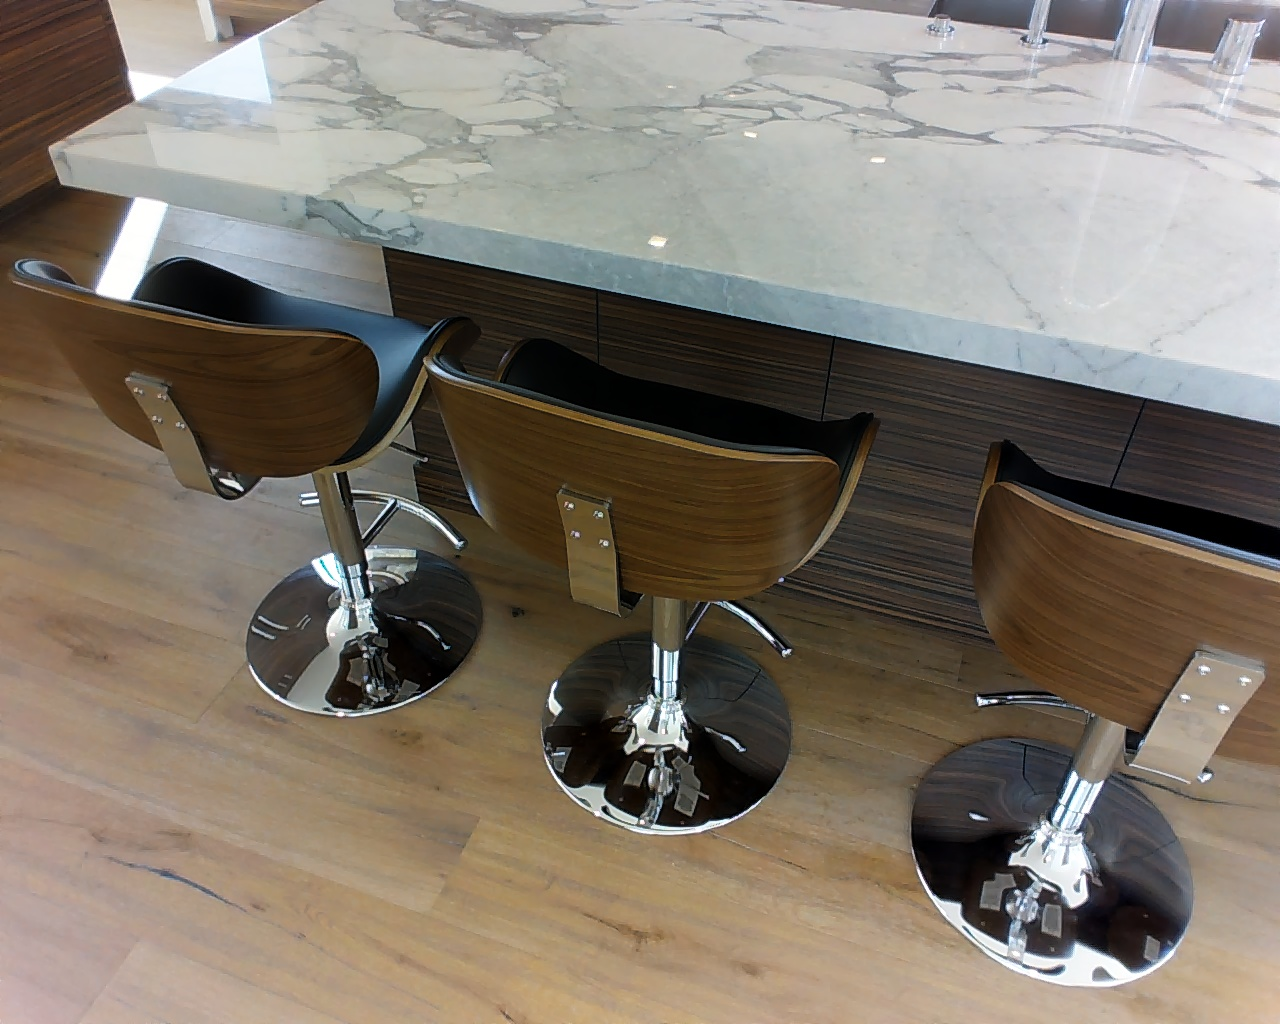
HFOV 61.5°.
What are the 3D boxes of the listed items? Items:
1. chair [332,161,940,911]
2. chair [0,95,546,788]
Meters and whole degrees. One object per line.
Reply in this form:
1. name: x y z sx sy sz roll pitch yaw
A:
1. chair: 0.020 0.050 1.610 0.600 0.890 0.510 14 44 15
2. chair: -0.570 -0.110 1.780 0.610 0.880 0.550 14 44 15
